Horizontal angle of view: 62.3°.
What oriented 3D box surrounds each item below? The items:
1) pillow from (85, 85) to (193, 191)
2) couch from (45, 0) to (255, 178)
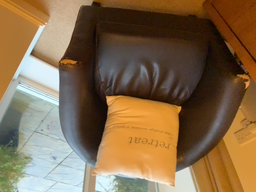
[{"bbox_3d":[0.060,0.200,0.970,0.390,0.370,0.100,22,161,-8],"label":"pillow"},{"bbox_3d":[0.060,-0.040,1.080,0.710,0.640,0.670,4,136,-8],"label":"couch"}]
